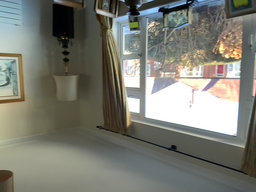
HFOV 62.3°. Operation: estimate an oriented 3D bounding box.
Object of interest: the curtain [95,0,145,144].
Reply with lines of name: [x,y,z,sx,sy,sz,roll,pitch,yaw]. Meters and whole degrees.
curtain: [-0.130,-0.680,3.050,0.300,2.590,0.710,-6,-170,-44]
